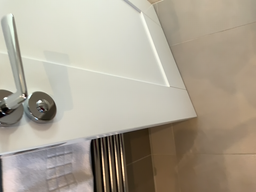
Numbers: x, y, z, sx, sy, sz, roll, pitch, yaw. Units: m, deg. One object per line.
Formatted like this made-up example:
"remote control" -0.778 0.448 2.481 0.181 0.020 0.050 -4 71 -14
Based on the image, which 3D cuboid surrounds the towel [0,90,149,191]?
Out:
"towel" -0.100 0.210 0.610 0.090 0.480 0.420 -9 83 30
